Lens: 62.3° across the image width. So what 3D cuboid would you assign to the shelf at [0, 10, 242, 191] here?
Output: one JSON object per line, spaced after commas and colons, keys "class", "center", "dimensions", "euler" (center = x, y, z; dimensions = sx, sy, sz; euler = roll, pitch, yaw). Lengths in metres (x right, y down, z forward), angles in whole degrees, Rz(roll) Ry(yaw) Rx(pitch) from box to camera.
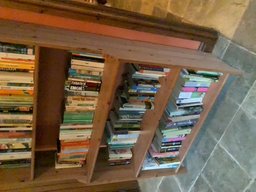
{"class": "shelf", "center": [-0.350, 0.120, 1.320], "dimensions": [0.400, 1.880, 1.020], "euler": [-121, 40, -51]}
